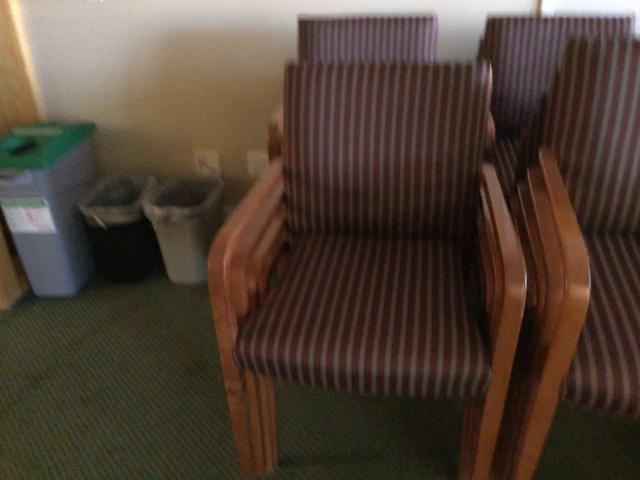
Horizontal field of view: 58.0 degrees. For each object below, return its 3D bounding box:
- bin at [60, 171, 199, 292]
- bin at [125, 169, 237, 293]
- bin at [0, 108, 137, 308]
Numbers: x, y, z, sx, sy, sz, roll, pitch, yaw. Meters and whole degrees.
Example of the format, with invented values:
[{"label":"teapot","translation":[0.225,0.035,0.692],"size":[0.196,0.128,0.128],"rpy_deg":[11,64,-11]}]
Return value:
[{"label":"bin","translation":[-0.780,-0.050,2.460],"size":[0.380,0.350,0.430],"rpy_deg":[2,27,6]},{"label":"bin","translation":[-0.570,-0.050,2.470],"size":[0.310,0.380,0.400],"rpy_deg":[2,27,6]},{"label":"bin","translation":[-1.080,-0.150,2.380],"size":[0.350,0.650,0.540],"rpy_deg":[2,27,6]}]
